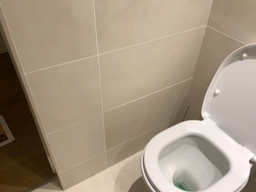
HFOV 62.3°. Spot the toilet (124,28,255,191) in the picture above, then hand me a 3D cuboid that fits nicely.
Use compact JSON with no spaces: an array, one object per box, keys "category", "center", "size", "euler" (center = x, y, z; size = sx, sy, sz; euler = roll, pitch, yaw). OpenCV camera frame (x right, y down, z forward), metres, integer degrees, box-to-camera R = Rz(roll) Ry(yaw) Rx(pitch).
[{"category":"toilet","center":[0.310,0.230,0.900],"size":[0.510,0.820,0.400],"euler":[-21,46,-24]}]
